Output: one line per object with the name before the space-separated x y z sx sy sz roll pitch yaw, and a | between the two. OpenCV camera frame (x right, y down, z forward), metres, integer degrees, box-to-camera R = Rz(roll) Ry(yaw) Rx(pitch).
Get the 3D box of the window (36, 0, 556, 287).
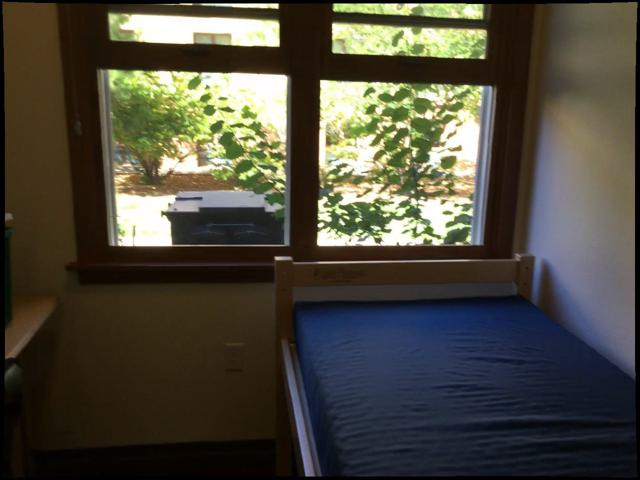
window | -0.080 -0.491 2.270 1.835 1.313 0.270 1 15 -6
